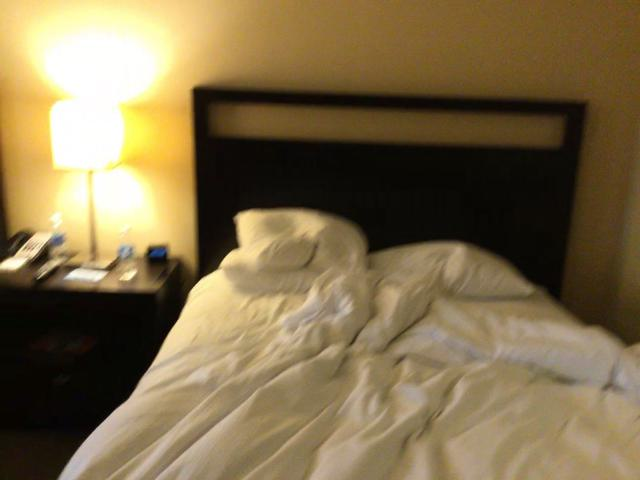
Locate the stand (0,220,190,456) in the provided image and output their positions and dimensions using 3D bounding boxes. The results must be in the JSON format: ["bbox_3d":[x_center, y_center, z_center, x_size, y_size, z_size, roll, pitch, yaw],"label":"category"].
[{"bbox_3d":[-1.020,0.380,2.460,0.800,0.790,0.570,3,13,-2],"label":"stand"}]

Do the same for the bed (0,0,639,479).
[{"bbox_3d":[0.240,0.300,1.630,1.780,1.520,2.200,3,13,-2],"label":"bed"}]
